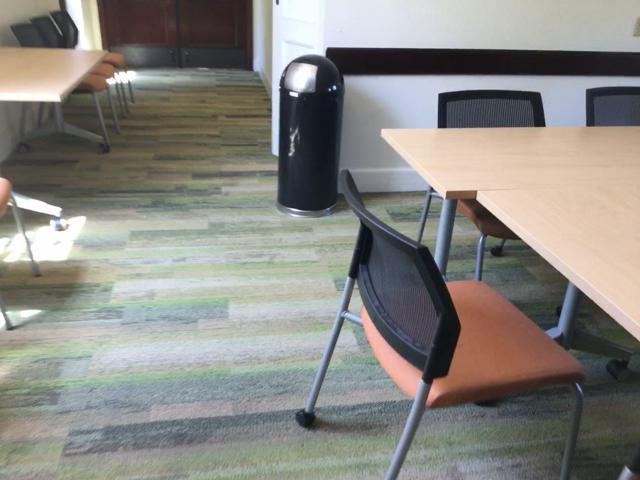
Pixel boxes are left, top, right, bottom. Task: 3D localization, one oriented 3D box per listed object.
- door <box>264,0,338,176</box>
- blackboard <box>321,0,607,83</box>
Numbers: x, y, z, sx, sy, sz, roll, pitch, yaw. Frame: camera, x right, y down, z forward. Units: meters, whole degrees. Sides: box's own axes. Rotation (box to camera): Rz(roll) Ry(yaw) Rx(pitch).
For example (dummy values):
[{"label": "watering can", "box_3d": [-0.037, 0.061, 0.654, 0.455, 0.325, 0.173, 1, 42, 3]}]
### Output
[{"label": "door", "box_3d": [-0.130, -1.480, 3.610, 0.070, 2.060, 0.650, -16, 31, -36]}, {"label": "blackboard", "box_3d": [0.810, -1.470, 3.120, 1.530, 1.140, 0.250, -1, 25, -9]}]
